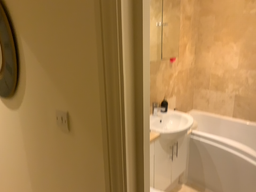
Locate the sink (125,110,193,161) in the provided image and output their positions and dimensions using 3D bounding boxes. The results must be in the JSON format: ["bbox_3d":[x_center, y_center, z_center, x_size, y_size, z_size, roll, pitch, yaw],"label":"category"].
[{"bbox_3d":[0.300,0.340,2.030,0.420,0.210,0.520,12,20,40],"label":"sink"}]

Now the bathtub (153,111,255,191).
[{"bbox_3d":[1.190,0.730,2.220,1.610,0.600,0.910,12,20,40],"label":"bathtub"}]
